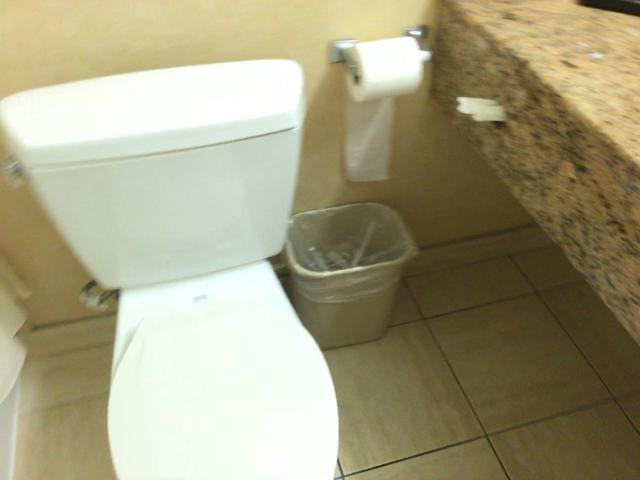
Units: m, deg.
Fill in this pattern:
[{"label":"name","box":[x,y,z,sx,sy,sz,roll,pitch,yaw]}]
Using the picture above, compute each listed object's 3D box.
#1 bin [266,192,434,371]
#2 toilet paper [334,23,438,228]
[{"label":"bin","box":[0.060,0.100,1.400,0.320,0.310,0.220,-12,46,-13]},{"label":"toilet paper","box":[0.120,-0.220,1.180,0.140,0.390,0.120,-12,46,-13]}]
